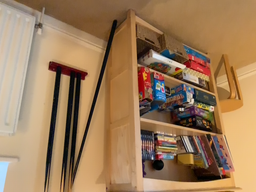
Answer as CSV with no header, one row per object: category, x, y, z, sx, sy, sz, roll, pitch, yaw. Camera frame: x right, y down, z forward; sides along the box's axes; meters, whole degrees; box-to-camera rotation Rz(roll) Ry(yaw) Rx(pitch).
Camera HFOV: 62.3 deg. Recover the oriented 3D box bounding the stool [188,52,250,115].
stool,0.880,-0.100,2.100,0.340,0.450,0.370,14,153,-34
